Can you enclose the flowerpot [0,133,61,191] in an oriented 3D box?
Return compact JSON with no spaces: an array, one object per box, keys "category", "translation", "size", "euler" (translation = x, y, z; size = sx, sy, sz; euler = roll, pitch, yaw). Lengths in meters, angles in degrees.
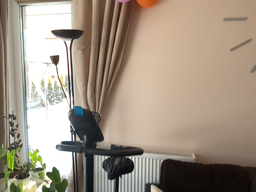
[{"category":"flowerpot","translation":[-0.990,0.630,2.020],"size":[0.470,0.380,0.520],"euler":[2,7,11]}]
